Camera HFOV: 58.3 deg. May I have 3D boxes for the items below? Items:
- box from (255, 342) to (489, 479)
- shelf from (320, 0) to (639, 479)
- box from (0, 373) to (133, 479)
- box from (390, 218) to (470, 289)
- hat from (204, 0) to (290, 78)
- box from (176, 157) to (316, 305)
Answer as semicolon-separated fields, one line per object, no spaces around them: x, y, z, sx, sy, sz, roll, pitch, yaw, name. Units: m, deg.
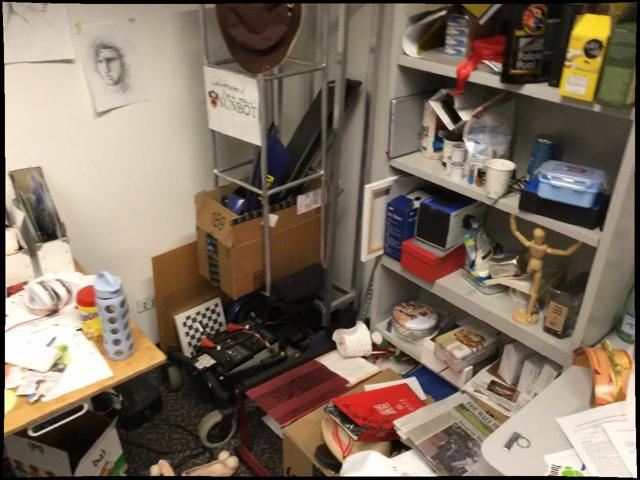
0.170;0.711;1.900;0.630;0.350;0.420;-23;38;-36;box
0.509;-0.180;1.670;0.430;1.992;0.970;-23;38;-36;shelf
-0.869;0.691;1.920;0.310;0.280;0.300;14;32;20;box
0.360;0.040;1.890;0.180;0.120;0.170;-23;38;-36;box
-0.210;-0.691;1.730;0.240;0.340;0.220;0;30;-3;hat
-0.270;-0.050;2.170;0.400;0.360;0.310;-23;38;-36;box
